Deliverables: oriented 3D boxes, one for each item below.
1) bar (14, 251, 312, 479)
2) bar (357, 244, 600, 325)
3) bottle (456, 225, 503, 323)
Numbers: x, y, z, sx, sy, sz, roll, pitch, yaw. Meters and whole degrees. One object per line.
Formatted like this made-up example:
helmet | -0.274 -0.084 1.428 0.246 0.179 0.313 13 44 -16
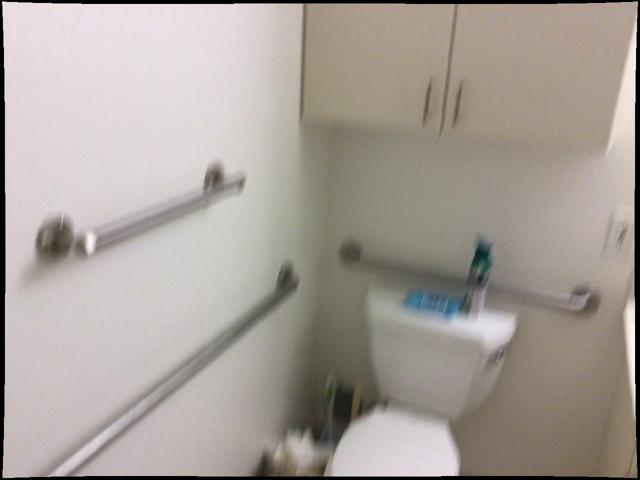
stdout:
bar | -0.280 0.260 1.360 0.050 0.060 1.130 11 24 22
bar | 0.480 0.130 1.840 0.739 0.090 0.070 11 24 22
bottle | 0.490 0.100 1.770 0.080 0.230 0.200 11 24 22
